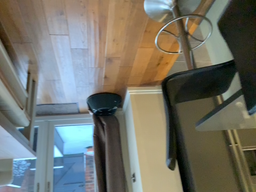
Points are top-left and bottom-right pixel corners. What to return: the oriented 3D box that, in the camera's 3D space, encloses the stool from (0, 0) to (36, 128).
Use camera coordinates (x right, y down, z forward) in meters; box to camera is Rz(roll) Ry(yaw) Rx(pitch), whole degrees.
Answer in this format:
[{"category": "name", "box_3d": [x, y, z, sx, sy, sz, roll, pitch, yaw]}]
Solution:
[{"category": "stool", "box_3d": [-1.000, -0.220, 1.500, 0.390, 0.540, 1.230, -1, 154, -12]}]
